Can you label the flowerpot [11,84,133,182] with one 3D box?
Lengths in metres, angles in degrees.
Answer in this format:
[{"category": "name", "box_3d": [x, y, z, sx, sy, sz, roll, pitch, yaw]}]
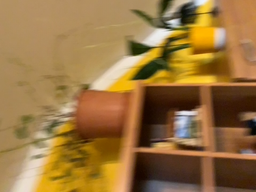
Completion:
[{"category": "flowerpot", "box_3d": [-0.190, 0.150, 0.890, 0.300, 0.350, 0.270, 77, -161, -47]}]
